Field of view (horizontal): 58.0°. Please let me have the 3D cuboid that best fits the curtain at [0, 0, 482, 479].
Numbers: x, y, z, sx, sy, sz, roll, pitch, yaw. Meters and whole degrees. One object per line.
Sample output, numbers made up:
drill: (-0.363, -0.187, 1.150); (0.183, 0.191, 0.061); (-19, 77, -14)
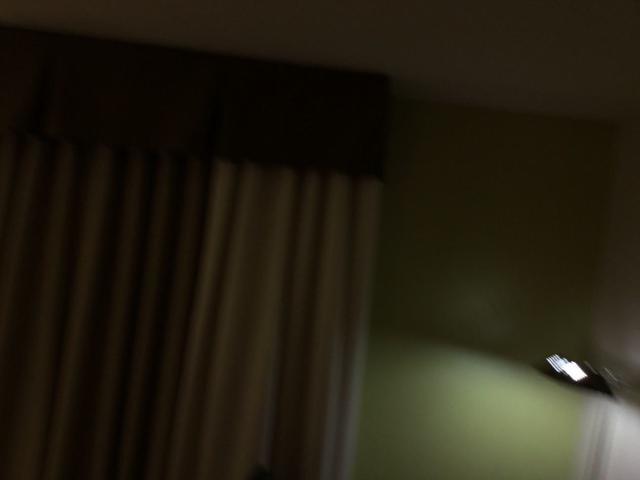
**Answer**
curtain: (-0.880, 0.440, 1.900); (2.410, 2.310, 0.720); (6, -1, -7)
